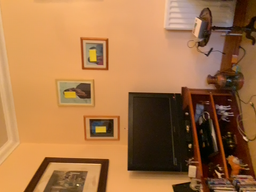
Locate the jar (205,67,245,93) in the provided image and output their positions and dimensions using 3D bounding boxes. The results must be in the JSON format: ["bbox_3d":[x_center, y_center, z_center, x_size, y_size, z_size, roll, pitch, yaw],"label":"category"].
[{"bbox_3d":[1.030,-0.180,2.280,0.240,0.280,0.230,-94,7,-76],"label":"jar"}]

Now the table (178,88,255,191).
[{"bbox_3d":[0.890,0.400,2.190,0.750,0.490,0.770,-93,6,-73],"label":"table"}]

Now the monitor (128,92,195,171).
[{"bbox_3d":[0.330,0.340,2.200,0.040,0.640,0.800,96,176,-66],"label":"monitor"}]

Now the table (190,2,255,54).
[{"bbox_3d":[0.910,-0.590,1.890,0.390,0.560,0.380,-93,6,-73],"label":"table"}]
